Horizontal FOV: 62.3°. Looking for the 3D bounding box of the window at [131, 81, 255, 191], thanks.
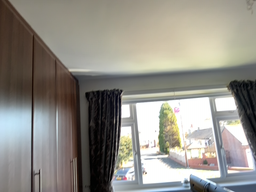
[{"bbox_3d":[1.060,0.570,3.140,1.900,1.410,0.220,-5,-11,2],"label":"window"}]
